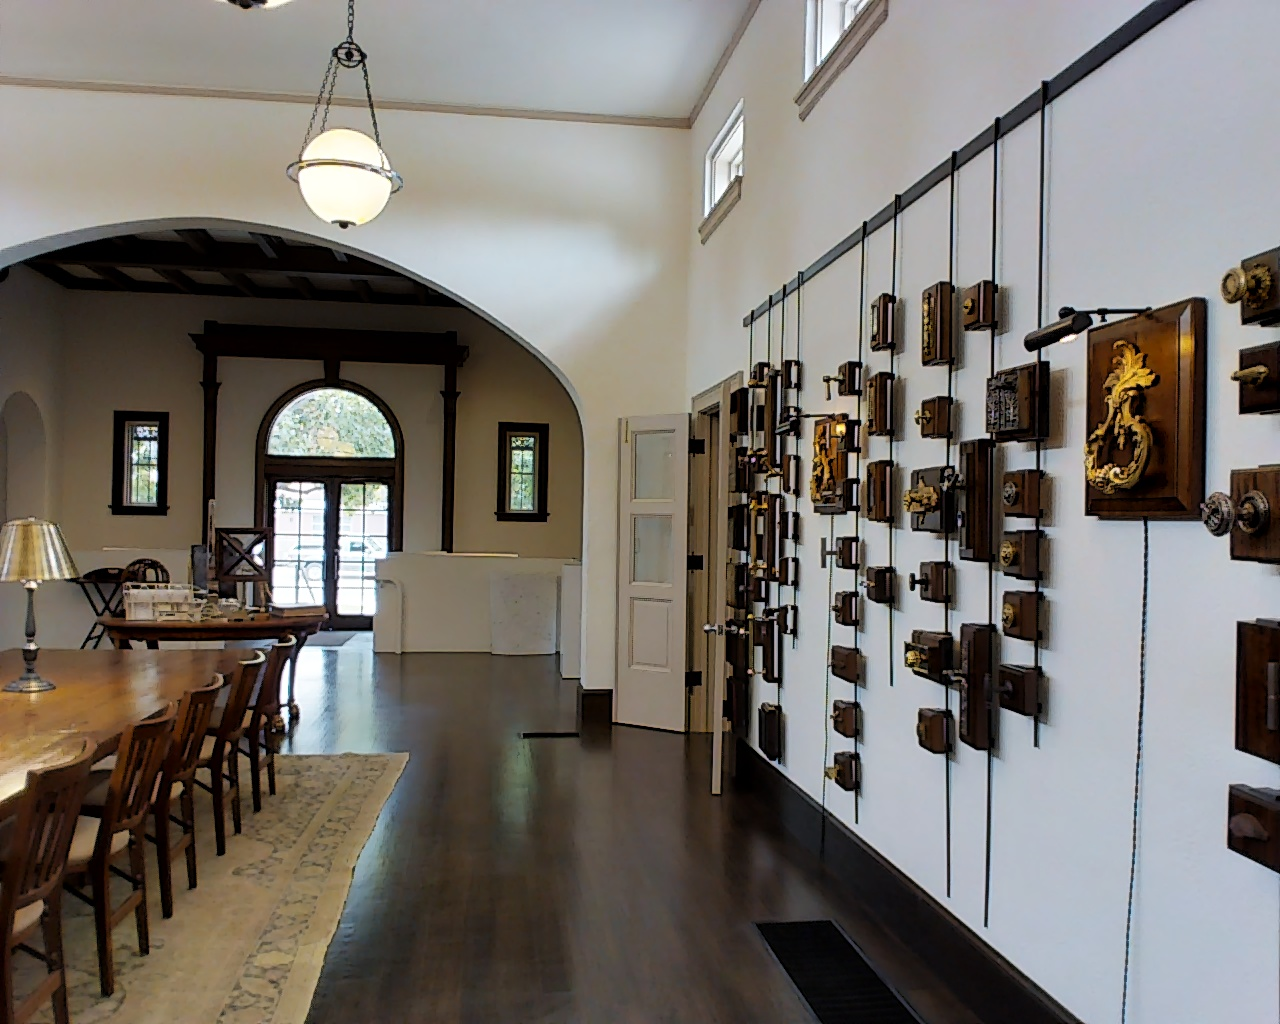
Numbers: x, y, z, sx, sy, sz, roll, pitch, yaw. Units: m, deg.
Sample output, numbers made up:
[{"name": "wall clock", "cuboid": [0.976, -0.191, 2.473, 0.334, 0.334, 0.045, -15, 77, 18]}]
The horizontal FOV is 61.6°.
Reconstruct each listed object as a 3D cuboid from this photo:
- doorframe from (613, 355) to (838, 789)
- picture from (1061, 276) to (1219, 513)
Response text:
[{"name": "doorframe", "cuboid": [0.450, 0.340, 7.060, 0.950, 2.370, 2.290, 1, 0, -8]}, {"name": "picture", "cuboid": [1.150, -0.250, 2.500, 0.110, 0.500, 0.430, 1, 0, -8]}]
